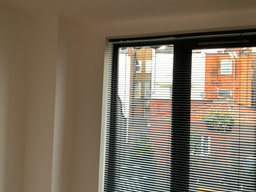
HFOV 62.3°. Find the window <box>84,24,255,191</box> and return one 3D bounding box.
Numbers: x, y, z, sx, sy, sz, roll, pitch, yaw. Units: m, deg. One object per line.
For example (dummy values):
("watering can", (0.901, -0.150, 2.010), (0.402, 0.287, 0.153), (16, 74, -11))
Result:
("window", (0.980, 0.540, 1.780), (2.920, 2.240, 0.170), (1, -1, 18))
